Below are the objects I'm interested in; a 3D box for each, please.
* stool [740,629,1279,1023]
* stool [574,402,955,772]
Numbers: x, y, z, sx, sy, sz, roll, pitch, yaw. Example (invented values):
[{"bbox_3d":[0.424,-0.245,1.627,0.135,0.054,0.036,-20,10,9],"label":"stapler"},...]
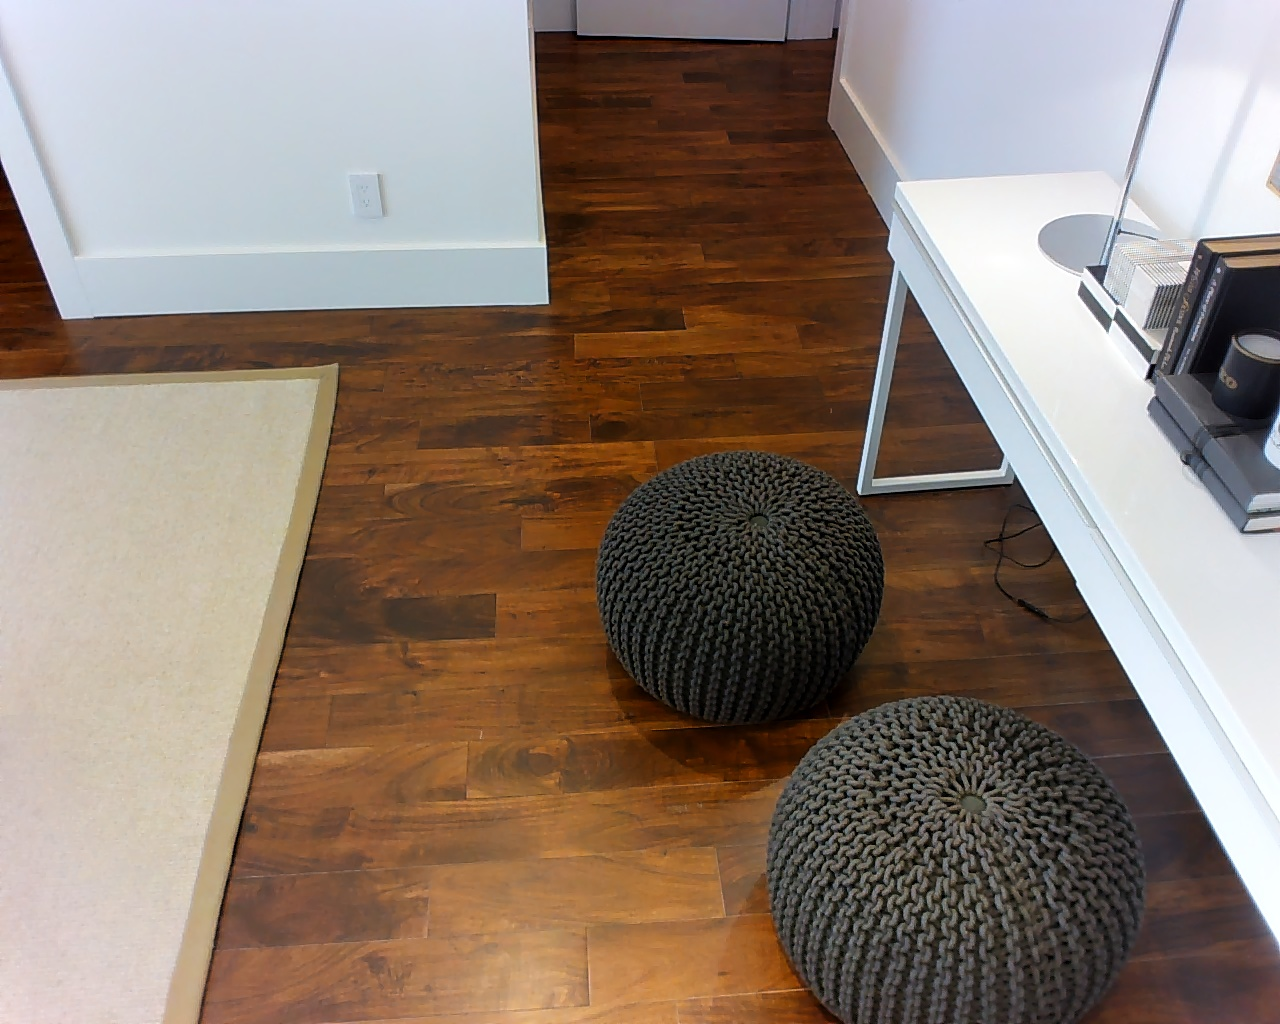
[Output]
[{"bbox_3d":[0.470,0.500,1.560,0.560,0.360,0.530,-2,42,-3],"label":"stool"},{"bbox_3d":[0.180,0.120,1.990,0.580,0.360,0.570,-2,42,-3],"label":"stool"}]
